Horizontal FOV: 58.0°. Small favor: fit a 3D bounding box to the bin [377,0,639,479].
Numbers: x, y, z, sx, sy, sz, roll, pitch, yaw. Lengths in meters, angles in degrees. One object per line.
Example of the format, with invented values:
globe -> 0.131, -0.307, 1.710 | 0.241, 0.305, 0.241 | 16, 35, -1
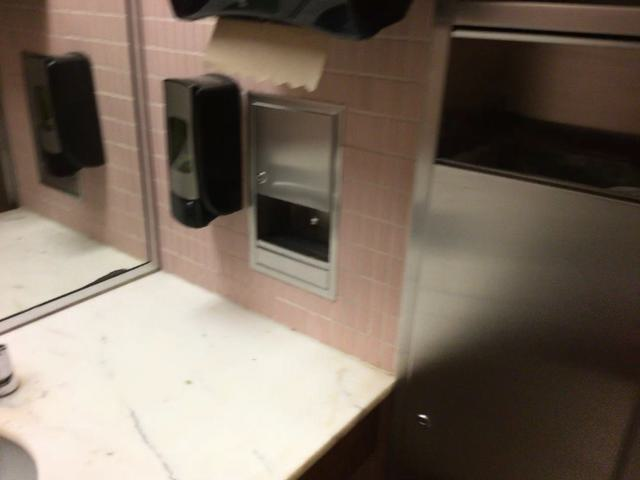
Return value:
bin -> 0.330, 0.110, 0.820 | 0.420, 1.580, 0.210 | 16, 27, 35
